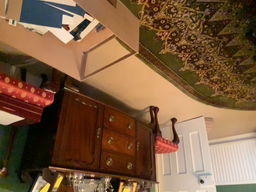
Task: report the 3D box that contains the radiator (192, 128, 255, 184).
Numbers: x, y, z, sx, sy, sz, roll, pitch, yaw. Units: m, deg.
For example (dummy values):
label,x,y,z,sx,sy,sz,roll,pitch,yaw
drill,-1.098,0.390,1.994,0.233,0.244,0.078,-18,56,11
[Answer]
label,x,y,z,sx,sy,sz,roll,pitch,yaw
radiator,1.720,1.080,3.740,1.120,0.830,0.070,-19,148,34

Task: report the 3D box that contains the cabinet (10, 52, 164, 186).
label,x,y,z,sx,sy,sz,roll,pitch,yaw
cabinet,-0.280,0.370,2.180,0.600,0.940,1.330,-21,146,37
